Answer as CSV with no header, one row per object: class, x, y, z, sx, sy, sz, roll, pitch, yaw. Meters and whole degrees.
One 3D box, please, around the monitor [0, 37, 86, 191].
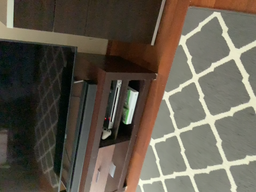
monitor,-0.800,0.340,1.490,0.060,0.860,1.460,31,116,44
